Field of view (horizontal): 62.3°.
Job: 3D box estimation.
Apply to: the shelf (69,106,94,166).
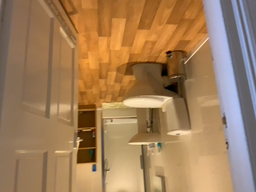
[{"bbox_3d":[-0.860,0.740,3.970,0.430,1.060,0.310,-1,164,-9],"label":"shelf"}]
